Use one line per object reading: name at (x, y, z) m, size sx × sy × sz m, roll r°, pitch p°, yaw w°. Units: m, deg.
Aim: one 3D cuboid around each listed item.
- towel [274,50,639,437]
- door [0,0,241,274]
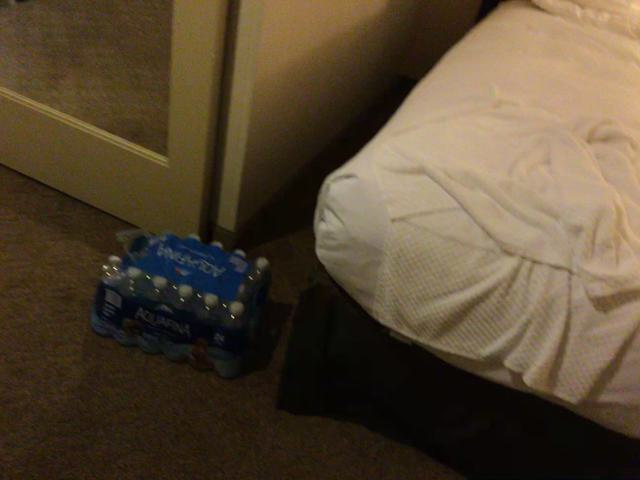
towel at (0.330, -0.060, 1.130) m, size 0.610 × 0.340 × 0.560 m, roll 22°, pitch 36°, yaw 14°
door at (-0.660, -0.620, 1.430) m, size 0.980 × 1.260 × 0.130 m, roll 22°, pitch 36°, yaw 14°
